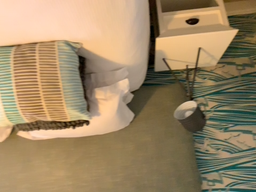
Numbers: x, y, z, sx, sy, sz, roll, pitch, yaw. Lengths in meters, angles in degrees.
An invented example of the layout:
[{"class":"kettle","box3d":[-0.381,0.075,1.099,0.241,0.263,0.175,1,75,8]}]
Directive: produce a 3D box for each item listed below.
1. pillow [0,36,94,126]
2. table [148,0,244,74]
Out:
[{"class":"pillow","box3d":[-0.410,-0.050,0.940,0.460,0.330,0.180,-5,177,4]},{"class":"table","box3d":[0.400,-0.560,1.490,0.460,0.610,0.500,-6,163,4]}]
